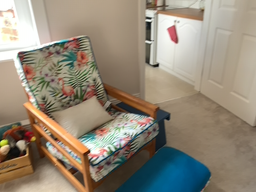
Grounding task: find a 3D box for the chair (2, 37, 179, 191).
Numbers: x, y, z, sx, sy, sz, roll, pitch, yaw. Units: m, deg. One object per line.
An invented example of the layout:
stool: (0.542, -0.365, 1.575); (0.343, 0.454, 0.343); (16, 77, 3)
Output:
chair: (-0.240, 0.100, 1.620); (0.870, 0.830, 0.810); (21, 35, 36)
